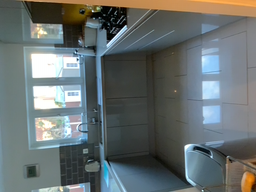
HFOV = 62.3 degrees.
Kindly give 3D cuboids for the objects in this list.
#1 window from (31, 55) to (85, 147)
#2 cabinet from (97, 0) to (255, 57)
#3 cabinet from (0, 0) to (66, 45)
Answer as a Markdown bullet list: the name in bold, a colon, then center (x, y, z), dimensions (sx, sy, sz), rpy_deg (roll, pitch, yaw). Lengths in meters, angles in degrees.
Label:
- **window**: center (-1.290, 0.070, 3.970), dimensions (0.110, 0.870, 1.640), rpy_deg (180, 87, -73)
- **cabinet**: center (0.290, -0.900, 2.380), dimensions (2.070, 0.920, 0.620), rpy_deg (-172, 80, -72)
- **cabinet**: center (-1.410, -1.020, 2.980), dimensions (1.230, 0.980, 0.340), rpy_deg (-172, 80, -72)
